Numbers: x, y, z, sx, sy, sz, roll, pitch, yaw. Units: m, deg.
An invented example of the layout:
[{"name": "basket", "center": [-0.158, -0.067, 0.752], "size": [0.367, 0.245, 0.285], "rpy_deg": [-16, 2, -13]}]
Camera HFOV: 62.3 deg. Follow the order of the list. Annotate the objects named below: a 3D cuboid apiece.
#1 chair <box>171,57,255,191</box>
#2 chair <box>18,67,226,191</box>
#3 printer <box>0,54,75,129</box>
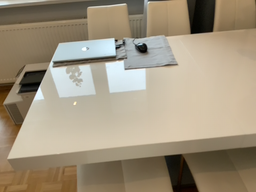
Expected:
[{"name": "chair", "center": [0.530, 0.390, 0.890], "size": [0.490, 0.920, 0.600], "rpy_deg": [-5, 38, -2]}, {"name": "chair", "center": [-0.010, 0.450, 0.850], "size": [0.420, 0.920, 0.600], "rpy_deg": [-5, 38, -2]}, {"name": "printer", "center": [-0.890, -0.050, 2.020], "size": [0.570, 0.480, 0.520], "rpy_deg": [-2, 38, 1]}]
